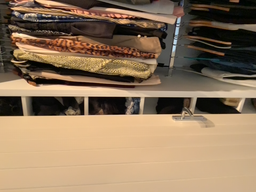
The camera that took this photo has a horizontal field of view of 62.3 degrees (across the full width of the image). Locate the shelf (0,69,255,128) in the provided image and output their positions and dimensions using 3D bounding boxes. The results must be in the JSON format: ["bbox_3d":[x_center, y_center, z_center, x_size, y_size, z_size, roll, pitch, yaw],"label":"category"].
[{"bbox_3d":[0.040,0.020,1.250,0.260,2.380,0.220,-110,24,-64],"label":"shelf"}]
